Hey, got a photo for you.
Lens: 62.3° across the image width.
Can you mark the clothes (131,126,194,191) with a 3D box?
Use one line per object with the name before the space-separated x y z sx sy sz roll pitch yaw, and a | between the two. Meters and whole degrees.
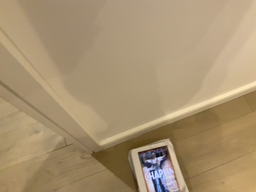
clothes | 0.160 0.320 1.030 0.220 0.030 0.300 -14 70 -5
